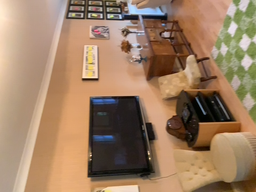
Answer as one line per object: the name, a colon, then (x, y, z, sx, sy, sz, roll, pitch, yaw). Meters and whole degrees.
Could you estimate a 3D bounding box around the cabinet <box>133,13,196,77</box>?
cabinet: (0.620, -1.030, 4.130, 0.540, 0.810, 1.400, 97, 169, -45)
